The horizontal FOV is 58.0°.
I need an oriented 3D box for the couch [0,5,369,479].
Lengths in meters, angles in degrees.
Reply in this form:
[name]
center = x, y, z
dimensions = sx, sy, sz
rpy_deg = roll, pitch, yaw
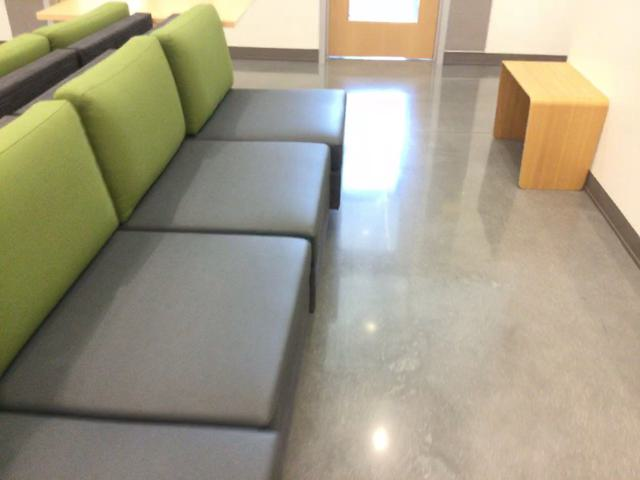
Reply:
[couch]
center = -0.390, -0.010, 1.630
dimensions = 0.820, 0.840, 2.610
rpy_deg = 4, 31, 8
